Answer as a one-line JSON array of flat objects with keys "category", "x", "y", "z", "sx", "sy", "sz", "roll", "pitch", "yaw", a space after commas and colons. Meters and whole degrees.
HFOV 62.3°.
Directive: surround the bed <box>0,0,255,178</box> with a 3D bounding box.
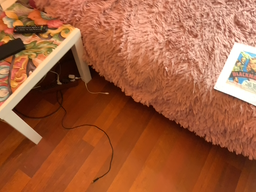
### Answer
[{"category": "bed", "x": 0.340, "y": -0.480, "z": 1.400, "sx": 1.820, "sy": 0.450, "sz": 1.200, "roll": 29, "pitch": 65, "yaw": 14}]
